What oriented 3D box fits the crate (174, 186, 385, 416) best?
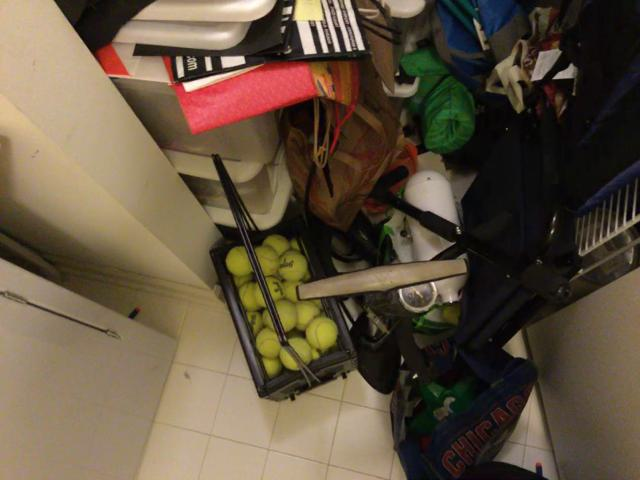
[{"bbox_3d":[-0.080,0.160,1.340,0.300,0.340,0.370,-27,72,-6],"label":"crate"}]
